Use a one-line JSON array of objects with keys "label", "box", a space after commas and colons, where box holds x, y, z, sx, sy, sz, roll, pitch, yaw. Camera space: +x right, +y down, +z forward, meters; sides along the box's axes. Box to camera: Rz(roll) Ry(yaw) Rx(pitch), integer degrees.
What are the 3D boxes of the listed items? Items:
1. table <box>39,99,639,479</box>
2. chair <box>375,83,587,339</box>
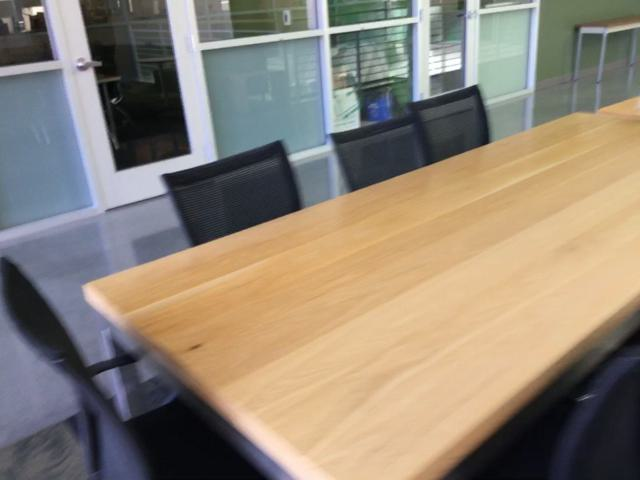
[{"label": "table", "box": [0.640, 0.180, 1.900, 2.500, 0.780, 1.080, -22, 29, -36]}, {"label": "chair", "box": [0.650, -0.170, 2.440, 0.550, 0.850, 0.600, -22, 29, -36]}]
